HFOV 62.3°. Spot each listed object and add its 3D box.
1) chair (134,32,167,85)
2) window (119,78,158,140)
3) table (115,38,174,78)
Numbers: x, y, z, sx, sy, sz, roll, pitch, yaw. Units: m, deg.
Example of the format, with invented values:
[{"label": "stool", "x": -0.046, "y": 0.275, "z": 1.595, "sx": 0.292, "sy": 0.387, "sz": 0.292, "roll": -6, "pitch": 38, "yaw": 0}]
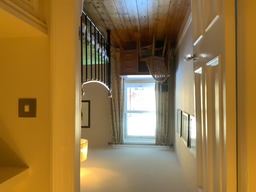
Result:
[{"label": "chair", "x": 0.430, "y": -0.700, "z": 4.160, "sx": 0.400, "sy": 0.910, "sz": 0.540, "roll": 1, "pitch": 180, "yaw": -32}, {"label": "window", "x": 0.260, "y": 0.310, "z": 5.300, "sx": 0.940, "sy": 1.500, "sz": 0.310, "roll": 1, "pitch": 180, "yaw": 5}, {"label": "table", "x": 0.360, "y": -0.790, "z": 4.610, "sx": 1.170, "sy": 0.730, "sz": 0.640, "roll": 1, "pitch": 180, "yaw": 6}]
